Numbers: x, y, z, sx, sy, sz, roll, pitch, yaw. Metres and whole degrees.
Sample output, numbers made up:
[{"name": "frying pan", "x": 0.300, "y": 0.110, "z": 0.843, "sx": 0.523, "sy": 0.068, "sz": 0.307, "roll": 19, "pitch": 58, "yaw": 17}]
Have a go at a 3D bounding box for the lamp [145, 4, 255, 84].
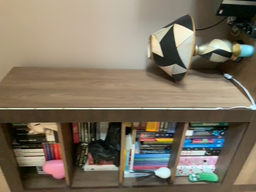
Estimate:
[{"name": "lamp", "x": 0.380, "y": -0.300, "z": 1.190, "sx": 0.360, "sy": 0.490, "sz": 0.320, "roll": -97, "pitch": 10, "yaw": -58}]
